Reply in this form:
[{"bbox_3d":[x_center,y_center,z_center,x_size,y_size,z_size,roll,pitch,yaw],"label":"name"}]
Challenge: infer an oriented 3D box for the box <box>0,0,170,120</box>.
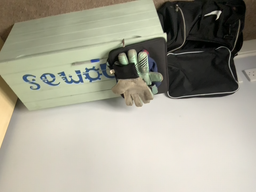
[{"bbox_3d":[-0.220,-0.190,1.100,0.800,0.350,0.420,-8,140,3],"label":"box"}]
